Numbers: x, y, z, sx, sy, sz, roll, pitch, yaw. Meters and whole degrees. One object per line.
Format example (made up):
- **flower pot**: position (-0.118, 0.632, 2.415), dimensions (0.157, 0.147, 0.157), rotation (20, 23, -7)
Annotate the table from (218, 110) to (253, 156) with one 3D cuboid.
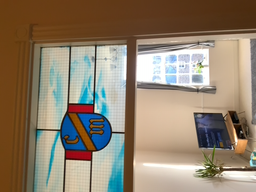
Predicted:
- **table**: position (2.530, 0.850, 5.090), dimensions (1.060, 0.440, 0.500), rotation (-75, -17, -55)
